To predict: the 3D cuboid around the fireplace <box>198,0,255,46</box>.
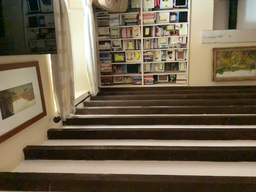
[{"bbox_3d":[2.190,-1.790,4.180,1.420,1.500,0.520,0,-168,7],"label":"fireplace"}]
